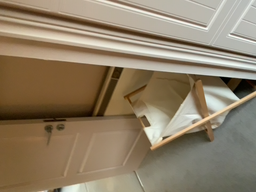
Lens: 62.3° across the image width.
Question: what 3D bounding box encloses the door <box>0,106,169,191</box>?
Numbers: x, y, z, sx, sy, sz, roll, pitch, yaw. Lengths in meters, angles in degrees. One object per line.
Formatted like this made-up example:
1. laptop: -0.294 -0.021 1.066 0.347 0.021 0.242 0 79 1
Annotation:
1. door: -0.700 0.470 1.630 0.120 2.130 0.900 56 134 42

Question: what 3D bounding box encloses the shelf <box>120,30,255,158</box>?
1. shelf: 0.390 -0.010 1.400 0.480 0.600 0.570 57 134 41
